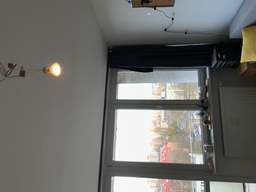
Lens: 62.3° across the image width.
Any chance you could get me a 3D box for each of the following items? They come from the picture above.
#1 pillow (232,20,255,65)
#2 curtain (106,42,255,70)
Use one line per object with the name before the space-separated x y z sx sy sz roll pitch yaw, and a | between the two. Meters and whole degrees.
pillow | 1.480 -0.620 2.490 0.430 0.160 0.470 -152 71 -76
curtain | 0.840 -0.630 3.390 0.200 2.350 0.330 72 -161 -72
